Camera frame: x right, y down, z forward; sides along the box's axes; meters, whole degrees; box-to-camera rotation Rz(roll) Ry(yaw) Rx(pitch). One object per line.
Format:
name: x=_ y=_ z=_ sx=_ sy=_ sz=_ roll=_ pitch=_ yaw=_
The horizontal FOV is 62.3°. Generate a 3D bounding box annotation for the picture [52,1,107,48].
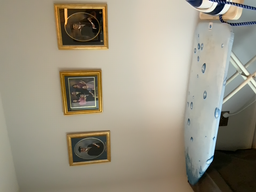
picture: x=-0.330 y=-0.500 z=1.500 sx=0.020 sy=0.360 sz=0.310 roll=-110 pitch=20 yaw=-68

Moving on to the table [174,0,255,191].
table: x=0.920 y=-0.030 z=1.580 sx=0.520 sy=0.860 sz=1.660 roll=-111 pitch=20 yaw=-68

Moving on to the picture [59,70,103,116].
picture: x=-0.360 y=-0.020 z=1.660 sx=0.030 sy=0.310 sz=0.370 roll=-109 pitch=19 yaw=-67
